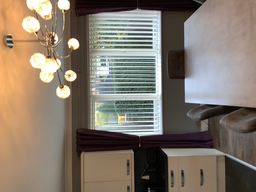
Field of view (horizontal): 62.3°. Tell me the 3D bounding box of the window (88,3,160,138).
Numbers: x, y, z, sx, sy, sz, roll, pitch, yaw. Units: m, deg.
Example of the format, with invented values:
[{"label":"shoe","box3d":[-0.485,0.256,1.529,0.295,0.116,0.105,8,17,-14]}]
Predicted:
[{"label":"window","box3d":[-0.070,-0.450,3.840,0.160,1.250,2.370,-179,89,-84]}]
